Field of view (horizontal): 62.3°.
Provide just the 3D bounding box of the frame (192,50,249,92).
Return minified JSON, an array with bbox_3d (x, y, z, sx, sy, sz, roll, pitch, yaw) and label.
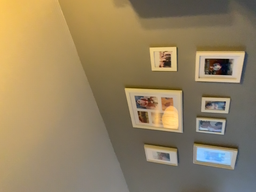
[{"bbox_3d":[0.580,-0.160,1.370,0.020,0.310,0.280,-59,-32,-52],"label":"frame"}]
